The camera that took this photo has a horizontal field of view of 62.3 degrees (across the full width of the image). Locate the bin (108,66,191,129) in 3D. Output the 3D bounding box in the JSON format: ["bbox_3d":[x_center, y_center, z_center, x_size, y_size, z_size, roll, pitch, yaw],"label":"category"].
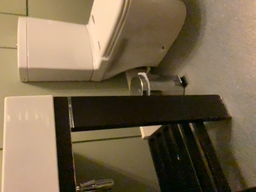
[{"bbox_3d":[0.110,0.010,1.220,0.250,0.350,0.250,127,136,-53],"label":"bin"}]

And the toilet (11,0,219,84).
[{"bbox_3d":[-0.130,-0.410,1.140,0.670,0.840,0.390,125,137,-52],"label":"toilet"}]

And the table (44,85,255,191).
[{"bbox_3d":[0.050,0.310,0.900,0.480,0.720,0.540,126,136,-53],"label":"table"}]
